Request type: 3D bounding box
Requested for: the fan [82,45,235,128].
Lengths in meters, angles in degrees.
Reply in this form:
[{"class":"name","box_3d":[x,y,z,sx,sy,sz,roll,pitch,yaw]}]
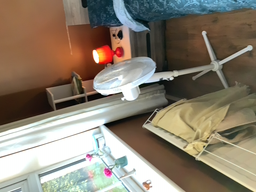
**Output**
[{"class":"fan","box_3d":[0.250,-0.140,1.540,0.430,1.020,0.330,24,124,57]}]
